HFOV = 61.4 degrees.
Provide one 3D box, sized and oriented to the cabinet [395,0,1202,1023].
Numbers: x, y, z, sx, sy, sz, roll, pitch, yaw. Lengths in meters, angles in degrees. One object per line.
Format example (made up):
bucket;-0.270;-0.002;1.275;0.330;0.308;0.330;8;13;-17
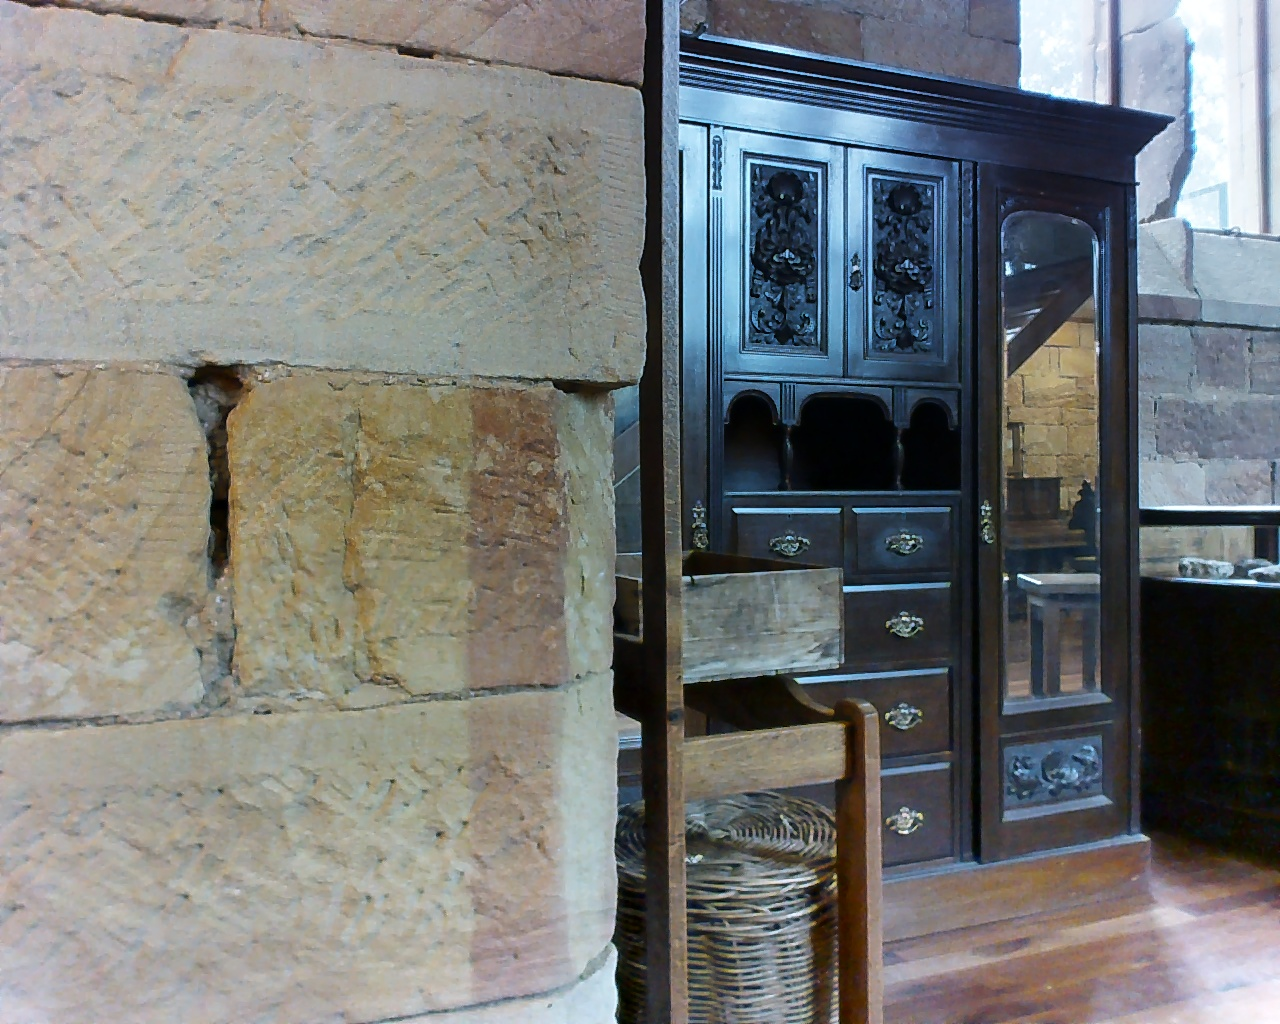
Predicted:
cabinet;0.460;-0.010;2.870;2.069;2.211;0.640;-1;0;-22
